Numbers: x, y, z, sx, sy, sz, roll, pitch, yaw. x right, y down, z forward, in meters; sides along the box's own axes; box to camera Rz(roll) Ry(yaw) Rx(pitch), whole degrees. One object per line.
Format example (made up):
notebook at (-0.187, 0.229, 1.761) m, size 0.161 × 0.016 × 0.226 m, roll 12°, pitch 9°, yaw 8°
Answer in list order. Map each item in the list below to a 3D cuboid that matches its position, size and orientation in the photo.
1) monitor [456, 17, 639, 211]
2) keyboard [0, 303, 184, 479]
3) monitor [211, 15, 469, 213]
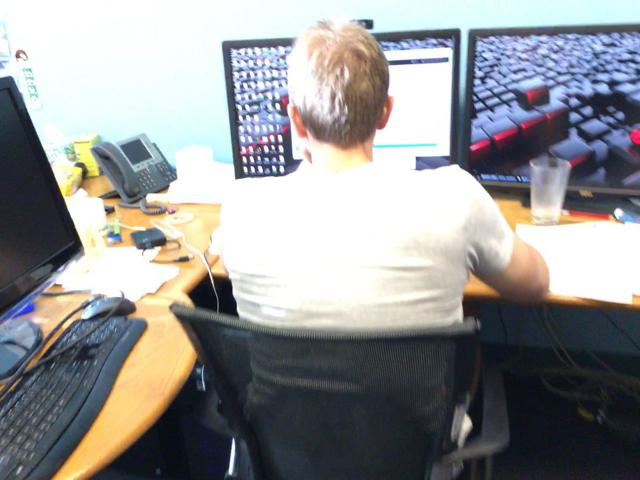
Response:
monitor at (0.690, -0.330, 1.530) m, size 0.620 × 0.470 × 0.150 m, roll 3°, pitch 23°, yaw 13°
keyboard at (-0.420, 0.230, 0.950) m, size 0.210 × 0.030 × 0.440 m, roll 3°, pitch 23°, yaw 13°
monitor at (0.070, -0.360, 1.660) m, size 0.670 × 0.500 × 0.210 m, roll 3°, pitch 23°, yaw 13°
